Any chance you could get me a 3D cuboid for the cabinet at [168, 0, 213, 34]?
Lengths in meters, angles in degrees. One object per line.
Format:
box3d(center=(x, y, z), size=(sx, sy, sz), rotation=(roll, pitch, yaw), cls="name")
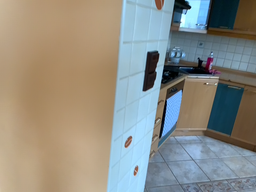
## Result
box3d(center=(0.870, -1.400, 2.810), size=(0.380, 1.050, 0.420), rotation=(2, 20, -12), cls="cabinet")
